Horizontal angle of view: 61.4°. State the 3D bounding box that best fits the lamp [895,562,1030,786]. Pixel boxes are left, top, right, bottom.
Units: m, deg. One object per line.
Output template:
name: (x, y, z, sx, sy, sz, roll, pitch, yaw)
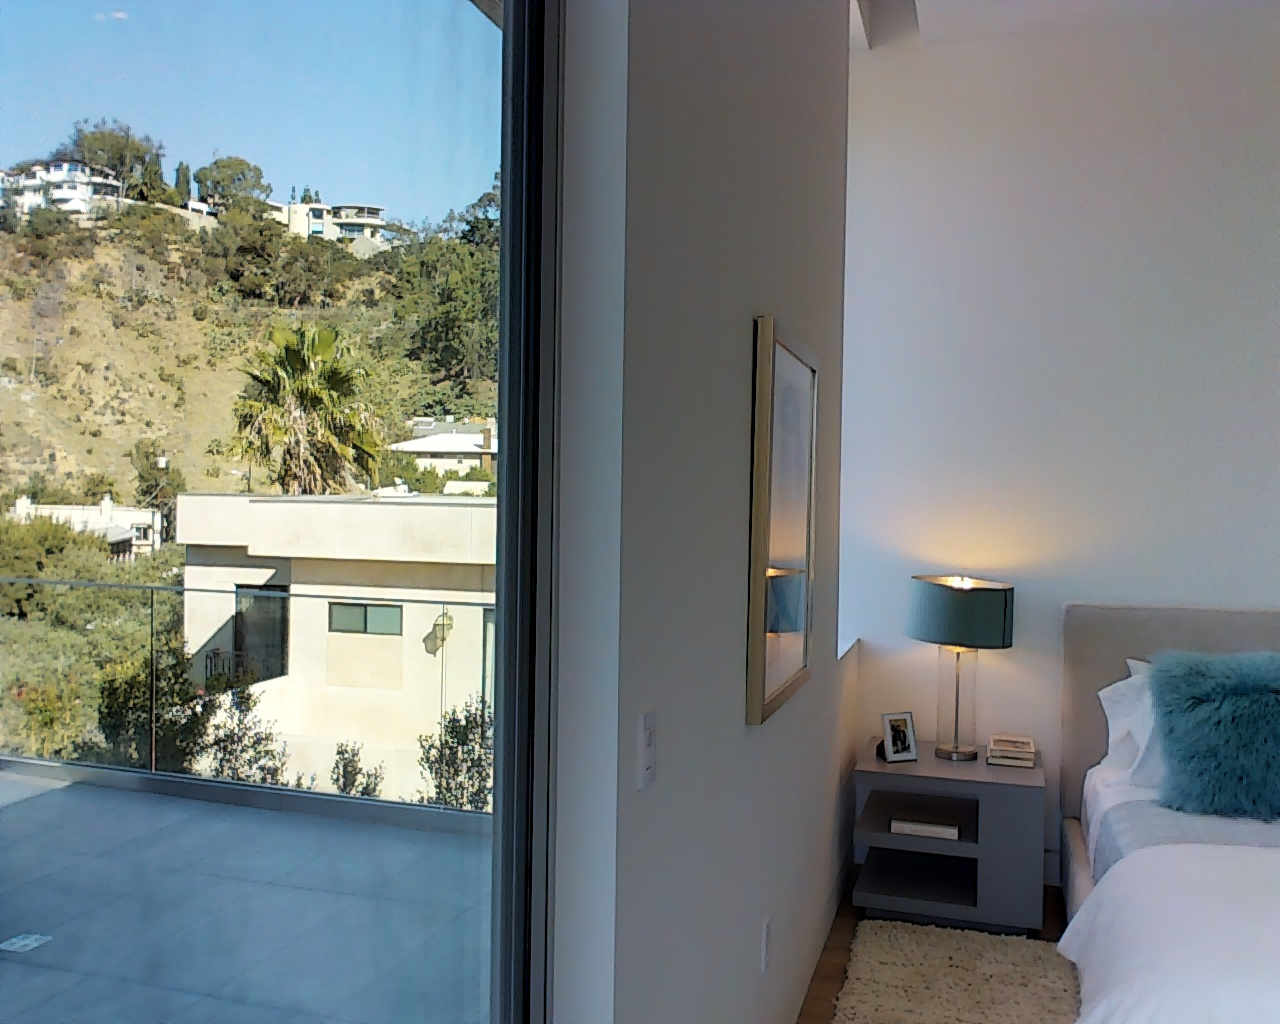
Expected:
lamp: (1.270, 0.600, 4.210, 0.460, 0.770, 0.510, 1, 1, 21)
